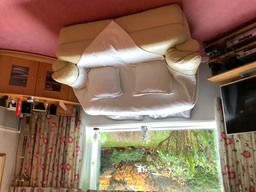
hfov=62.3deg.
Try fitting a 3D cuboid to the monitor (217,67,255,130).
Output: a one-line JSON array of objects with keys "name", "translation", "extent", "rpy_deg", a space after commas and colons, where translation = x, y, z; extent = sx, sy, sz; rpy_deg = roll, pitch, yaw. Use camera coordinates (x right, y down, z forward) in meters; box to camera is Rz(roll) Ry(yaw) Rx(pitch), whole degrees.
[{"name": "monitor", "translation": [1.500, -0.020, 2.250], "extent": [0.050, 0.660, 1.100], "rpy_deg": [14, 160, -35]}]

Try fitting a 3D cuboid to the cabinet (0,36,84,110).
[{"name": "cabinet", "translation": [-1.420, -0.260, 3.180], "extent": [1.140, 0.670, 0.960], "rpy_deg": [-5, 162, 15]}]

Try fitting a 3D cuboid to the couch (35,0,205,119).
[{"name": "couch", "translation": [-0.020, -0.330, 2.520], "extent": [1.660, 0.930, 0.990], "rpy_deg": [-6, 162, 19]}]
